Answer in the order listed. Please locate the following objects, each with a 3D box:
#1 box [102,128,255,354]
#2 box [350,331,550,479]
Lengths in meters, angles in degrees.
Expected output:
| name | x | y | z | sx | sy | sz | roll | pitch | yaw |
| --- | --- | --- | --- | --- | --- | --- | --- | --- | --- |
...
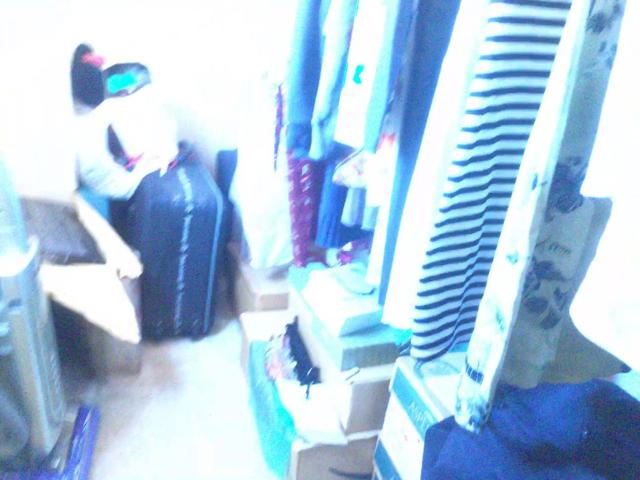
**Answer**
| name | x | y | z | sx | sy | sz | roll | pitch | yaw |
| --- | --- | --- | --- | --- | --- | --- | --- | --- | --- |
| box | -0.590 | -0.050 | 2.280 | 0.420 | 0.610 | 0.760 | -5 | 25 | -24 |
| box | 0.280 | 0.530 | 1.400 | 0.240 | 0.470 | 0.350 | -5 | 25 | -24 |
